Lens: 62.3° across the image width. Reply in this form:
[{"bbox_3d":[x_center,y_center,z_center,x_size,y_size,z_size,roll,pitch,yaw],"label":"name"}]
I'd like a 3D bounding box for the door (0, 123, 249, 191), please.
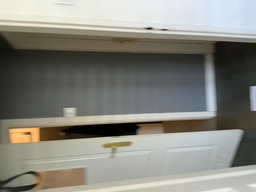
[{"bbox_3d":[-0.050,0.690,1.900,0.150,2.330,0.820,-122,34,-63],"label":"door"}]
